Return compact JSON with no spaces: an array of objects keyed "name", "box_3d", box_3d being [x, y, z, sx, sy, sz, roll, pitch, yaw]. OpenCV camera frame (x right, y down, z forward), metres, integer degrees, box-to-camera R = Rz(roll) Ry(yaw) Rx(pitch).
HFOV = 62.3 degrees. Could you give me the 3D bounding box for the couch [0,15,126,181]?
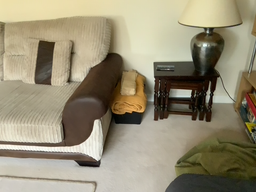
[{"name":"couch","box_3d":[-1.120,-0.120,1.730,2.080,0.860,1.060,2,29,6]}]
